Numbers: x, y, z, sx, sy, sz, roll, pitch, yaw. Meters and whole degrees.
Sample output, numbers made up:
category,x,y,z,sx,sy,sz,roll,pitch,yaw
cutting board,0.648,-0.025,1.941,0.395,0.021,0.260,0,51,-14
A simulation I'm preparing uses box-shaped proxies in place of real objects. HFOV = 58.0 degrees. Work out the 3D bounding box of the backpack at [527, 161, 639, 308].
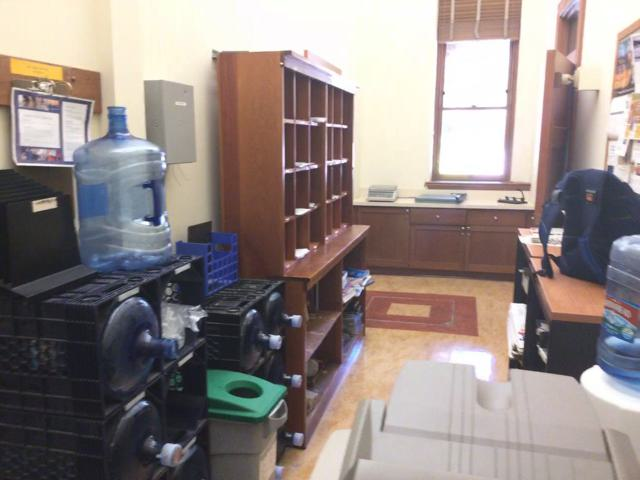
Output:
category,x,y,z,sx,sy,sz,roll,pitch,yaw
backpack,1.050,-0.040,2.200,0.440,0.480,0.410,0,12,14

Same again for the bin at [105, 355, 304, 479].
category,x,y,z,sx,sy,sz,roll,pitch,yaw
bin,-0.400,0.870,2.180,0.590,0.740,0.370,0,12,14
